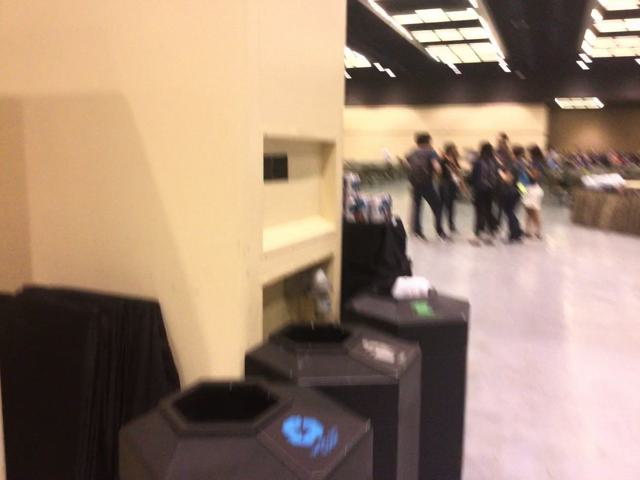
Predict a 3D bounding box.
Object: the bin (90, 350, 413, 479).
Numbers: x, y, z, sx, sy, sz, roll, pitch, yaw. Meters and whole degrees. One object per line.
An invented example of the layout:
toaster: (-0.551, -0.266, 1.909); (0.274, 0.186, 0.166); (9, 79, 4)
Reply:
bin: (-0.160, 0.800, 1.480); (0.610, 0.780, 0.510); (9, 14, 18)

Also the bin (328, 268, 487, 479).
bin: (0.410, 0.600, 2.610); (0.560, 0.780, 0.580); (6, 12, 19)

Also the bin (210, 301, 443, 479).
bin: (0.050, 0.700, 2.000); (0.600, 0.760, 0.630); (6, 12, 19)
